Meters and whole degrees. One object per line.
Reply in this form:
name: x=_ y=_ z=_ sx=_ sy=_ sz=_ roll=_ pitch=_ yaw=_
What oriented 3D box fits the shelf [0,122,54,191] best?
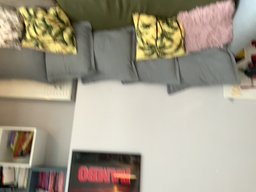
shelf: x=-1.040 y=0.850 z=2.030 sx=0.360 sy=1.140 sz=0.400 roll=3 pitch=167 yaw=2
